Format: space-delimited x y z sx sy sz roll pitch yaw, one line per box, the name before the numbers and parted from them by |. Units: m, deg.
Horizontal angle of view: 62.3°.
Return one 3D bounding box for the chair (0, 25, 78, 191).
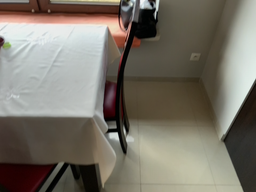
chair | -0.560 0.270 0.980 0.390 1.020 0.520 5 43 3
